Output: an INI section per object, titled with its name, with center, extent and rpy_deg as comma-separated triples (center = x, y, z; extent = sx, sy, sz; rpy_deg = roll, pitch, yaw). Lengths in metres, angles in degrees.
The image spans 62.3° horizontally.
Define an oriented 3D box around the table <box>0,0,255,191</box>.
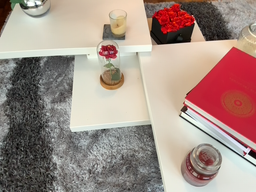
[table]
center = 0.040, -0.100, 1.020
extent = 1.620, 0.280, 0.820
rpy_deg = 37, 61, 24
